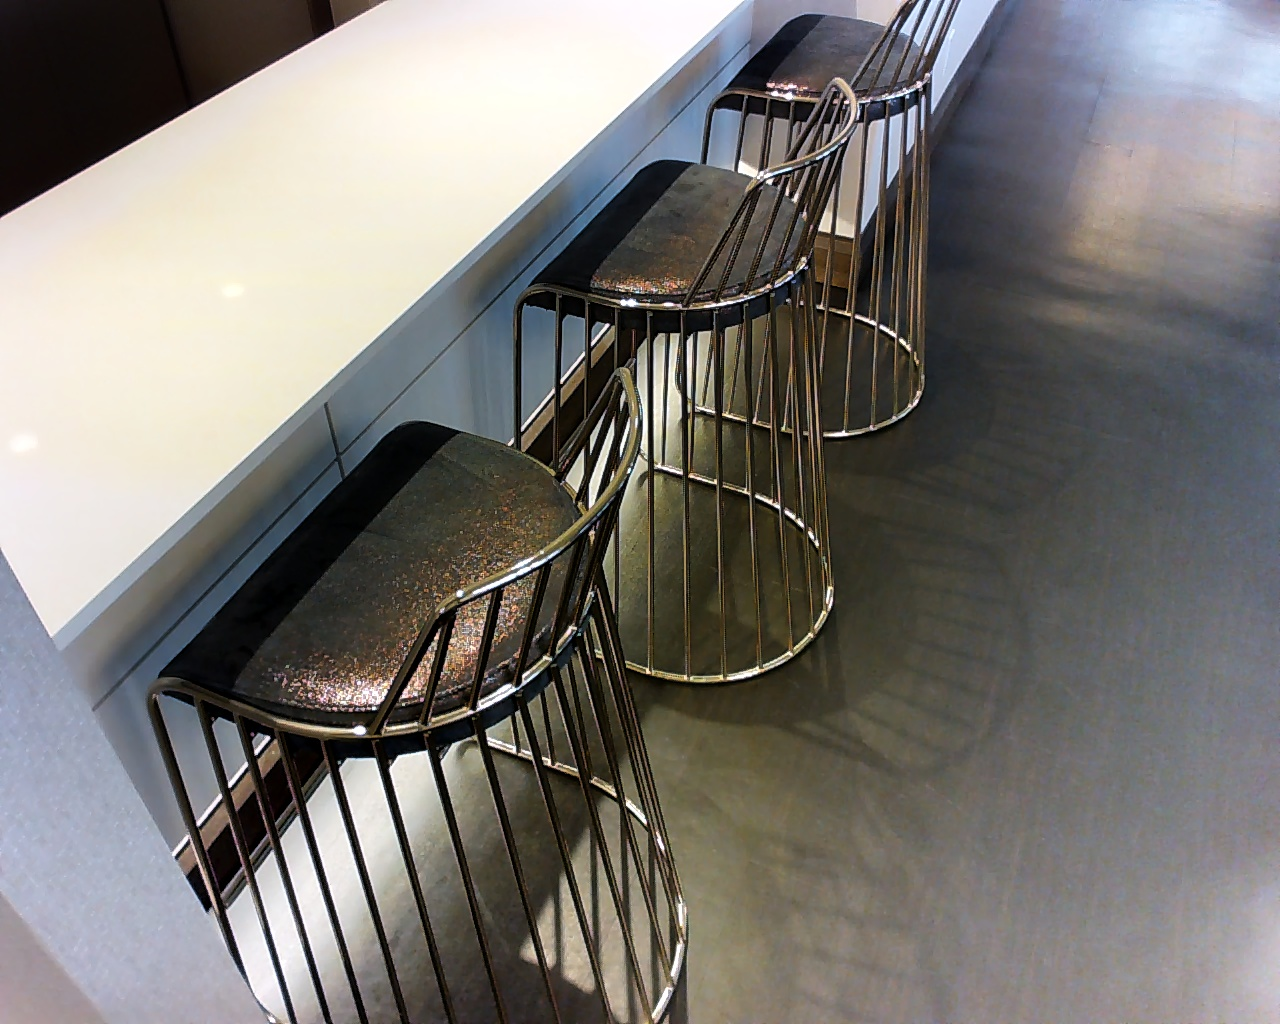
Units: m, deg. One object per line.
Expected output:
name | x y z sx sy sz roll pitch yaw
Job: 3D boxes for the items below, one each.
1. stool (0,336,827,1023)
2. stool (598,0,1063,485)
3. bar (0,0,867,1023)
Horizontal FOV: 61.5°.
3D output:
stool | -0.200 0.340 1.330 0.620 0.820 0.540 18 46 18
stool | 0.390 -0.730 2.280 0.730 1.000 0.650 18 46 18
bar | -0.240 -0.320 1.940 0.610 0.920 2.300 17 46 17
